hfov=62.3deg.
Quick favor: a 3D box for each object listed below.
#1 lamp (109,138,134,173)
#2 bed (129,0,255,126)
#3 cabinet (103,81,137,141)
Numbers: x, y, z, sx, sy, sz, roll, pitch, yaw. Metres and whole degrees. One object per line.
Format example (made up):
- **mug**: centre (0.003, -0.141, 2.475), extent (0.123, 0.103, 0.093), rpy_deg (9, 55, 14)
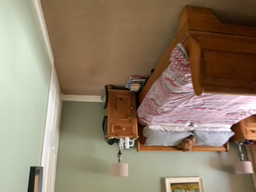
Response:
- **lamp**: centre (-0.110, 0.900, 3.190), extent (0.320, 0.480, 0.390), rpy_deg (2, 160, -10)
- **bed**: centre (1.080, -0.120, 2.820), extent (1.720, 0.570, 2.220), rpy_deg (2, 160, -11)
- **cabinet**: centre (-0.150, 0.250, 3.360), extent (0.440, 0.830, 0.510), rpy_deg (2, 160, -11)
